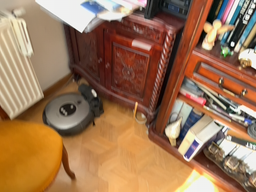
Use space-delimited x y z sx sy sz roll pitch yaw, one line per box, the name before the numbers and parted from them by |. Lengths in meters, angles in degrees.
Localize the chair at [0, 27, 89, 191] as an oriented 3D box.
chair | -0.490 0.190 0.890 0.480 0.930 0.310 20 52 12
